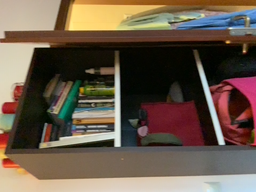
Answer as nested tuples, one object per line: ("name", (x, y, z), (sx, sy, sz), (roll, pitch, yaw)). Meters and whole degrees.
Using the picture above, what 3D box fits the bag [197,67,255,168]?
("bag", (0.590, 0.100, 0.920), (0.310, 0.420, 0.320), (95, 174, -57))
